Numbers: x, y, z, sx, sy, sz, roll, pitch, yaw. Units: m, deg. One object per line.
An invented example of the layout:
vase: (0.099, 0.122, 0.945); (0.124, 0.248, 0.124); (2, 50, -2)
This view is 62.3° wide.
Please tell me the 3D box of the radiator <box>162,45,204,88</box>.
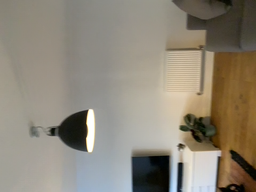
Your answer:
radiator: (0.920, -0.500, 3.570); (0.070, 0.660, 0.700); (-107, 16, -80)

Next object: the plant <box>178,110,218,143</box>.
plant: (1.170, 0.510, 3.600); (0.400, 0.510, 0.440); (-108, 17, -80)

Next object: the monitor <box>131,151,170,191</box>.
monitor: (0.410, 1.620, 3.920); (0.060, 0.700, 1.250); (-105, 14, -79)
